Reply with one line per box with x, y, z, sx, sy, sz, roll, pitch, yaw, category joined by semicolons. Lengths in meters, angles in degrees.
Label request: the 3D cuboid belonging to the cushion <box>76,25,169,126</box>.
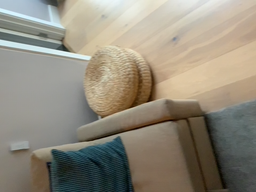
-0.080;-0.130;1.780;0.620;0.320;0.600;-25;72;41;cushion
